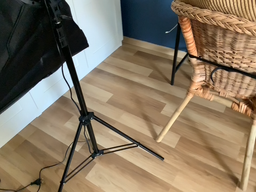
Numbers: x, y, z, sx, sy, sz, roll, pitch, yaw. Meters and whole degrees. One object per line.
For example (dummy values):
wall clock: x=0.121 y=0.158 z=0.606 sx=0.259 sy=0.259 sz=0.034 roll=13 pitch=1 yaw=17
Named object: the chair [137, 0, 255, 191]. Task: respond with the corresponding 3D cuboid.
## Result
chair: x=0.510 y=-0.130 z=1.020 sx=0.620 sy=0.780 sz=0.720 roll=25 pitch=51 yaw=26
